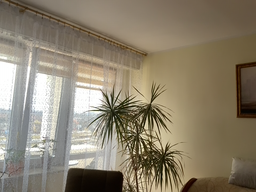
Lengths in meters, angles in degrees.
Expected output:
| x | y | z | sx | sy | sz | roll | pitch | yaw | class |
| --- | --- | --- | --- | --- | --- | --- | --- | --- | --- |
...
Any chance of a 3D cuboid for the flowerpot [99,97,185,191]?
| x | y | z | sx | sy | sz | roll | pitch | yaw | class |
| --- | --- | --- | --- | --- | --- | --- | --- | --- | --- |
| 0.090 | 0.920 | 2.630 | 0.820 | 1.680 | 0.890 | 5 | -6 | -8 | flowerpot |
